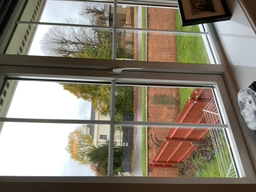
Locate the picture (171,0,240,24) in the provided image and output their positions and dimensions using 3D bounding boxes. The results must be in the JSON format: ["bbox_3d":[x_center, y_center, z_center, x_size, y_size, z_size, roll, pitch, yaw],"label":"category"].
[{"bbox_3d":[0.390,-0.530,1.160,0.080,0.240,0.350,99,156,-49],"label":"picture"}]
